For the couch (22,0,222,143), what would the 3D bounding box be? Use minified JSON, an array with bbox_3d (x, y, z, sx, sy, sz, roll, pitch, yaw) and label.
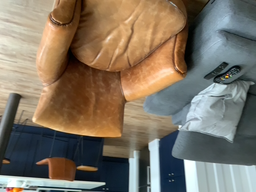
[{"bbox_3d":[-0.130,-0.260,1.290,0.730,0.810,0.910,14,151,-23],"label":"couch"}]
